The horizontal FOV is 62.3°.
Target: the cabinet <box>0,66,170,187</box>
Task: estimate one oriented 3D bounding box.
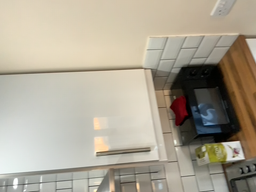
[{"bbox_3d":[-0.410,0.190,1.330,0.350,1.180,0.600,99,166,-63],"label":"cabinet"}]

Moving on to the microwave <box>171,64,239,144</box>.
[{"bbox_3d":[0.490,0.050,1.430,0.200,0.270,0.480,99,166,-63],"label":"microwave"}]
